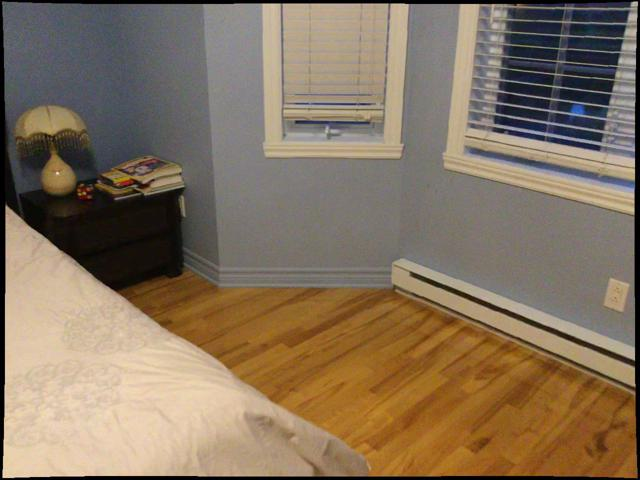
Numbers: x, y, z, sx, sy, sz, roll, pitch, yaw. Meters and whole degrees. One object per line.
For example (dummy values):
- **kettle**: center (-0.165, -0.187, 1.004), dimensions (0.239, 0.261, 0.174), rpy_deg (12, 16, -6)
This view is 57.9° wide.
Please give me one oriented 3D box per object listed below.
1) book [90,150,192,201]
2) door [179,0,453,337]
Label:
- **book**: center (-0.889, -0.330, 2.860), dimensions (0.310, 0.090, 0.430), rpy_deg (-22, 32, -38)
- **door**: center (-0.020, -0.931, 2.390), dimensions (0.790, 2.412, 0.800), rpy_deg (-22, 32, -38)
